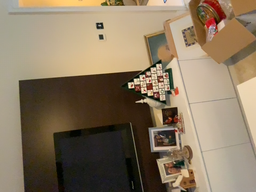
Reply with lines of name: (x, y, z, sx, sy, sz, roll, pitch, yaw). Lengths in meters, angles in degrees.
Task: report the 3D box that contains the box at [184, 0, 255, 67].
box: (0.840, -0.680, 1.720, 0.660, 0.350, 0.640, 127, 135, -69)
